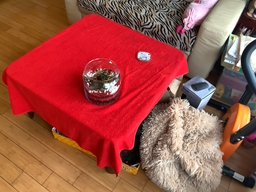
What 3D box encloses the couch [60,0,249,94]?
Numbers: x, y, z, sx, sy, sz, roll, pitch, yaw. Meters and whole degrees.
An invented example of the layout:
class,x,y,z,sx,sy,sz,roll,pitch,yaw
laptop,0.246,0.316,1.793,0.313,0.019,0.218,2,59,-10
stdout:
class,x,y,z,sx,sy,sz,roll,pitch,yaw
couch,0.250,-0.880,1.980,1.480,0.730,0.950,28,54,17
